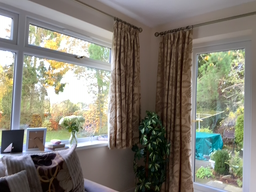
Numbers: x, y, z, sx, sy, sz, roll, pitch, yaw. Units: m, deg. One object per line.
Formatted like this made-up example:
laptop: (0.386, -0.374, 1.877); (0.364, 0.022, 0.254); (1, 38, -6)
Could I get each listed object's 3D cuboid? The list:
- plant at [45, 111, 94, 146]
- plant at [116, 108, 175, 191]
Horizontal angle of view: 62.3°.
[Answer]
plant: (-0.650, 0.350, 2.390); (0.430, 0.330, 0.290); (5, -3, -44)
plant: (0.220, 0.740, 2.720); (0.490, 1.140, 0.520); (5, -2, -40)
